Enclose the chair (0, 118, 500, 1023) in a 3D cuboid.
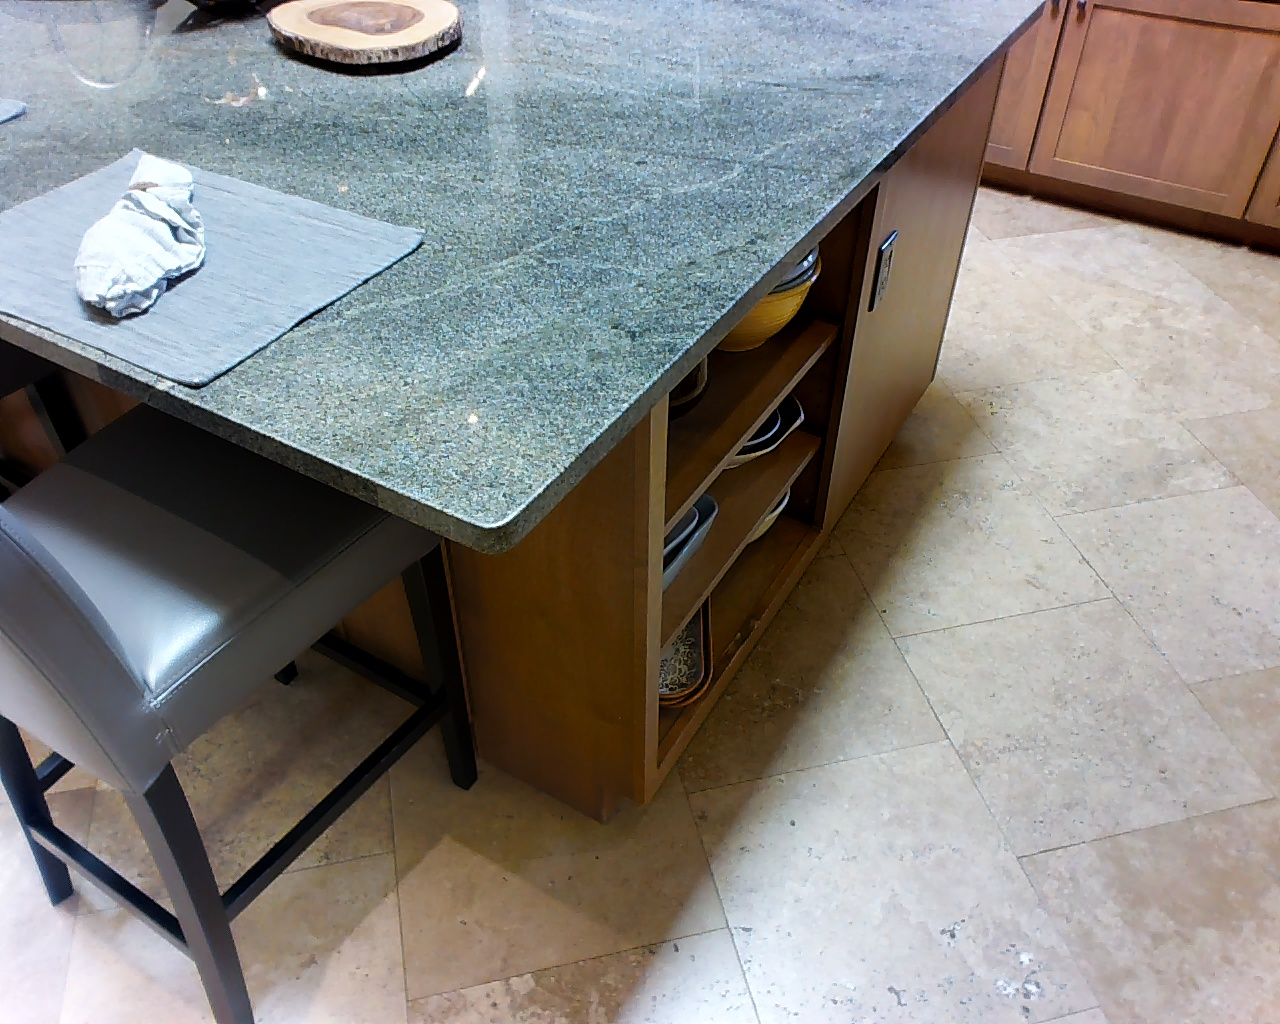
[{"bbox_3d":[-0.580,0.150,1.290,0.500,0.970,0.570,22,46,22],"label":"chair"}]
